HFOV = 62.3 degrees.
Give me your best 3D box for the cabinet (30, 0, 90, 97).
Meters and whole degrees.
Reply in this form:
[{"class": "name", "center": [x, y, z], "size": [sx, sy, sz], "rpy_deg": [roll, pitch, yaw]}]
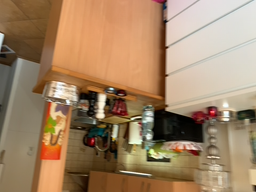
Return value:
[{"class": "cabinet", "center": [-0.460, -0.500, 1.480], "size": [0.170, 0.910, 0.490], "rpy_deg": [15, 159, -33]}]
